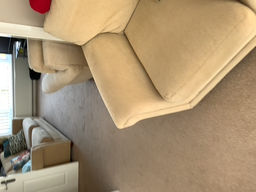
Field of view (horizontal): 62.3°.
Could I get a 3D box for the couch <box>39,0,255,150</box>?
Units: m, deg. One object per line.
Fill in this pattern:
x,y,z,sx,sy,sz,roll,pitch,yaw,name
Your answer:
0.140,-0.480,1.180,1.160,0.840,0.970,-55,51,40,couch

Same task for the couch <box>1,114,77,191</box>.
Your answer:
-1.800,1.070,4.030,2.220,0.810,1.010,10,101,53,couch
